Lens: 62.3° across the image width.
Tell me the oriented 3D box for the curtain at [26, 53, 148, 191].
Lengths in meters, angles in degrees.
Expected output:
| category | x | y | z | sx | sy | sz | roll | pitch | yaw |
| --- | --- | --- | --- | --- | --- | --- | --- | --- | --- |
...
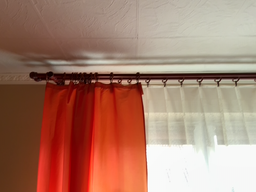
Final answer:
| category | x | y | z | sx | sy | sz | roll | pitch | yaw |
| --- | --- | --- | --- | --- | --- | --- | --- | --- | --- |
| curtain | -0.240 | 0.960 | 1.210 | 0.710 | 2.600 | 0.230 | 0 | -19 | 1 |
